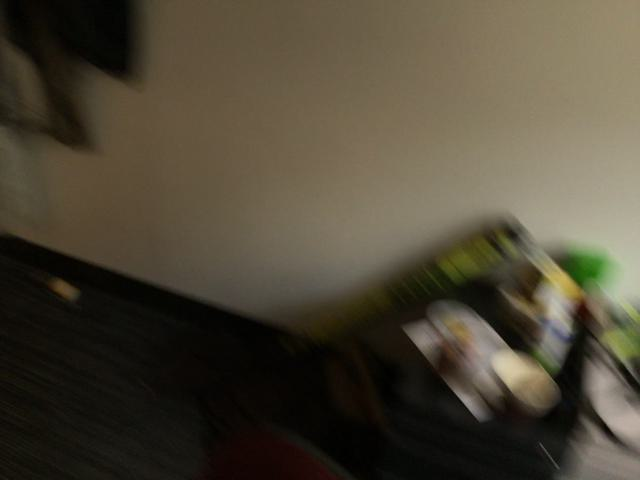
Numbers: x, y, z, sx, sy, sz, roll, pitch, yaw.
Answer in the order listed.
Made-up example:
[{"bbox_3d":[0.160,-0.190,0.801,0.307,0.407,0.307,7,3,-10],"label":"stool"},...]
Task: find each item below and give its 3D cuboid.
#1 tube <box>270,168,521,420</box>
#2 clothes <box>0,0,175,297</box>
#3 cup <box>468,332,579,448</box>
[{"bbox_3d":[0.180,0.170,1.790,0.700,0.650,0.090,16,33,20],"label":"tube"},{"bbox_3d":[-0.960,-0.620,1.830,0.900,1.480,0.270,16,33,20],"label":"clothes"},{"bbox_3d":[0.430,0.310,1.220,0.180,0.110,0.160,16,33,20],"label":"cup"}]
